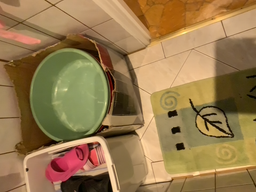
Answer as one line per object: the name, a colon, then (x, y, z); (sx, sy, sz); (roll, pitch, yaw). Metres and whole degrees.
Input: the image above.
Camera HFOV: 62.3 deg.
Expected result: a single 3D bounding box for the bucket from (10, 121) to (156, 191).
bucket: (-0.190, 0.370, 1.100); (0.500, 0.500, 0.360); (-14, 83, 20)
